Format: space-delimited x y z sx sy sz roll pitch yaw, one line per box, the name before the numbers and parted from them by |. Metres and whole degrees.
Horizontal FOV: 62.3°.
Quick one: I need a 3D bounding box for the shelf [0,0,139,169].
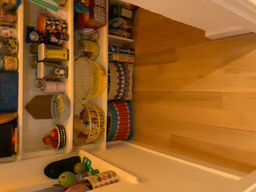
shelf | -0.690 -0.540 1.500 0.290 1.800 1.950 3 93 50
